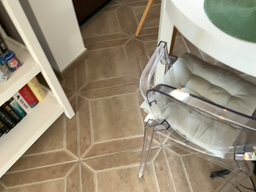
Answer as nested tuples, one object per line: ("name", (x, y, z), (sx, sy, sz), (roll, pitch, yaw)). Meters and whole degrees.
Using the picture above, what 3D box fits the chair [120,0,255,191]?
("chair", (0.290, 0.080, 0.960), (0.390, 0.800, 0.480), (33, 63, 22))
